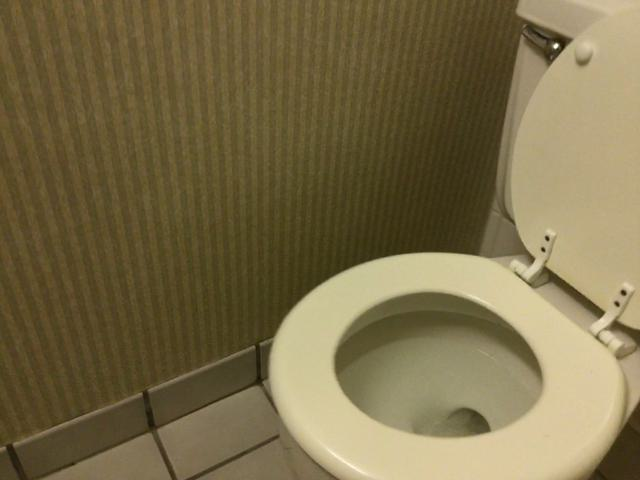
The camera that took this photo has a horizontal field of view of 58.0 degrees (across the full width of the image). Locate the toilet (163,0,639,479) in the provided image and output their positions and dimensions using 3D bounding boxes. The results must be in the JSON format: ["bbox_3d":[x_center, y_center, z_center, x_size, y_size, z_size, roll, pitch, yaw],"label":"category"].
[{"bbox_3d":[0.260,0.110,0.720,0.680,0.740,0.530,-18,42,-29],"label":"toilet"}]
